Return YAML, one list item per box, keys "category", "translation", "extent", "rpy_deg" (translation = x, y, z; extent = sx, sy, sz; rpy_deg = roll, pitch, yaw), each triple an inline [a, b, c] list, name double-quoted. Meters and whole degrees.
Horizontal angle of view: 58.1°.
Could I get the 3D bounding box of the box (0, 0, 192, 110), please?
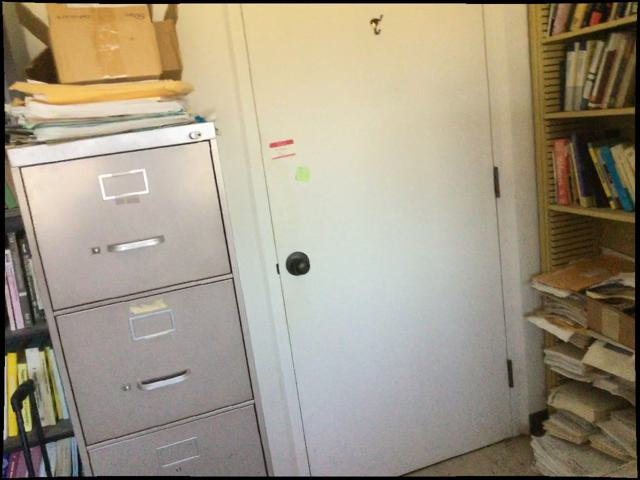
- category: "box"
  translation: [-0.519, -0.441, 1.350]
  extent: [0.349, 0.211, 0.390]
  rpy_deg: [-12, 13, -18]
